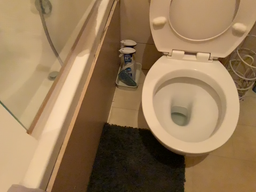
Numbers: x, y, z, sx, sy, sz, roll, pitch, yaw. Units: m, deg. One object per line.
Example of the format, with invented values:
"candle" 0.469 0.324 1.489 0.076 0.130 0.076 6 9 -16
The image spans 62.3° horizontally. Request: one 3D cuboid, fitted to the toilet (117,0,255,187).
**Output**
"toilet" 0.260 -0.100 0.870 0.440 0.800 0.670 7 56 6
